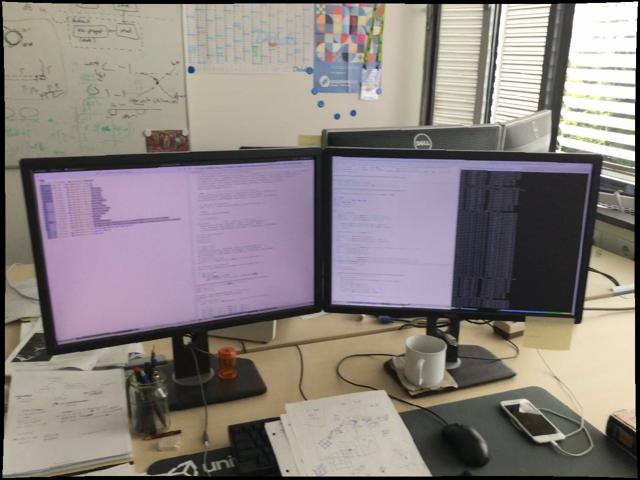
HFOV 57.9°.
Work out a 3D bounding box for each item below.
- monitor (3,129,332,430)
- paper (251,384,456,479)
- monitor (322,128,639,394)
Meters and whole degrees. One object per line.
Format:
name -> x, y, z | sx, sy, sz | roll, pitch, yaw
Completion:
monitor -> -0.270, 0.060, 1.160 | 0.560, 0.520, 0.150 | -6, 21, -20
paper -> 0.050, 0.380, 0.980 | 0.260, 0.060, 0.320 | -6, 21, -20
monitor -> 0.310, 0.040, 1.260 | 0.589, 0.520, 0.200 | 2, 20, 3
